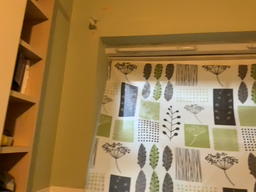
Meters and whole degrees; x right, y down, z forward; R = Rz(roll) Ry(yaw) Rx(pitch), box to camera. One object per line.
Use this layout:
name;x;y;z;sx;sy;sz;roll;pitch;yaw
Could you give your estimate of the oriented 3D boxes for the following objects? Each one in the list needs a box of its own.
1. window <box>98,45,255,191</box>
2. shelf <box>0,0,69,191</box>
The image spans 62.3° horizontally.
window;0.460;0.180;0.940;1.180;0.840;0.060;0;-13;11
shelf;-0.420;-0.050;0.680;0.290;0.830;0.250;0;-14;9
